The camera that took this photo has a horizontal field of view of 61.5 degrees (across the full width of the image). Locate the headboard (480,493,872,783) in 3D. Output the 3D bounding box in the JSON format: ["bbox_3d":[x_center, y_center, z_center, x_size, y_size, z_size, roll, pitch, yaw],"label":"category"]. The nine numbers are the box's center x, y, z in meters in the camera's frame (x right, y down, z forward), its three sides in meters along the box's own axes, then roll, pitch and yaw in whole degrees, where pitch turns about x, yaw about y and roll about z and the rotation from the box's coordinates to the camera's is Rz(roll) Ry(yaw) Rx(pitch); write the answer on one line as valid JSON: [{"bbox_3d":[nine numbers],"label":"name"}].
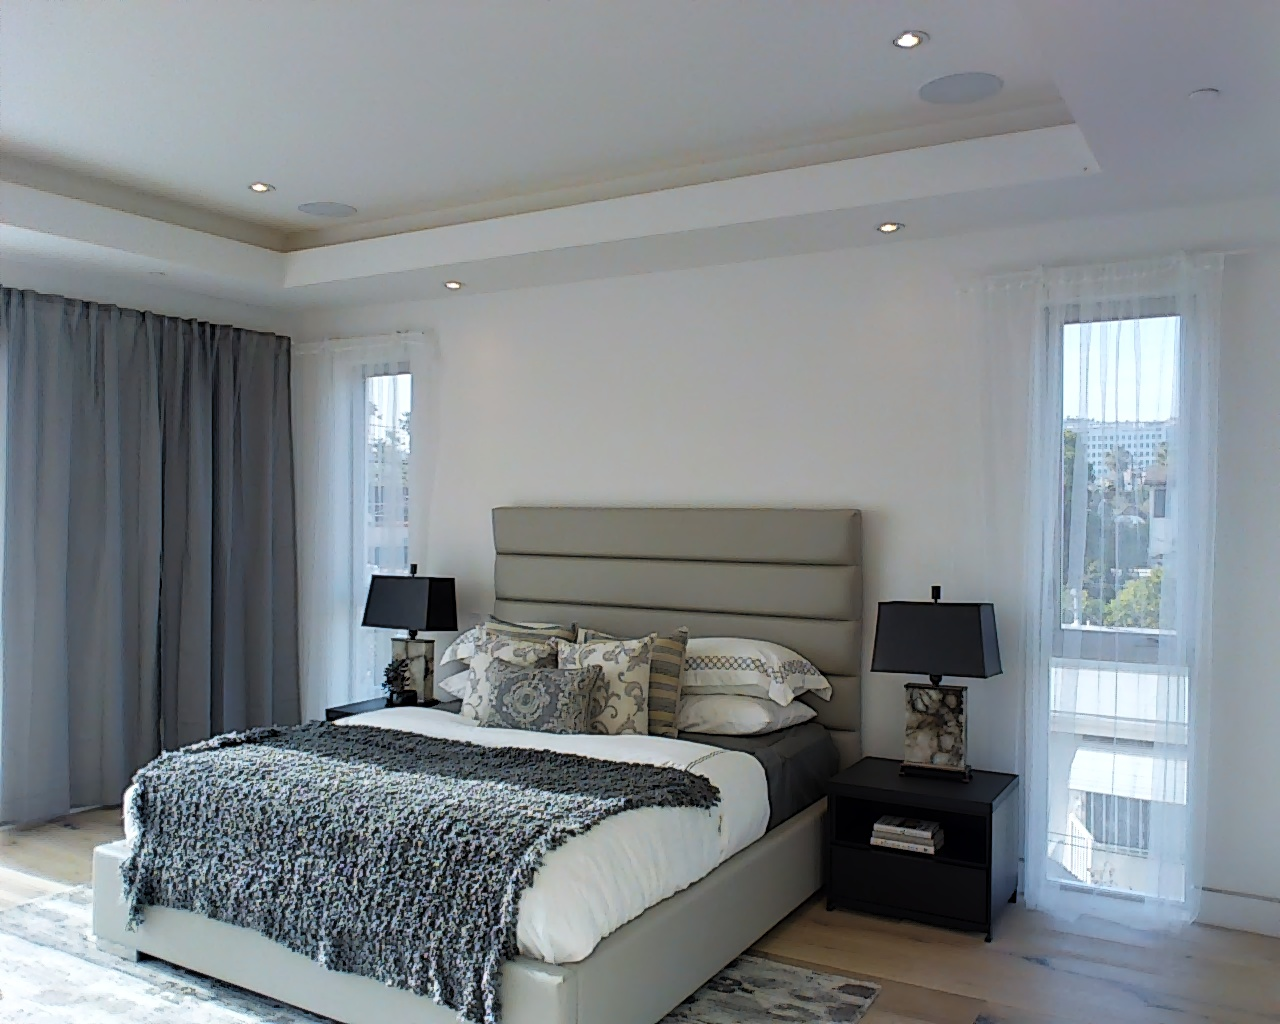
[{"bbox_3d":[0.090,0.530,5.210,2.069,1.241,0.170,1,0,31],"label":"headboard"}]
